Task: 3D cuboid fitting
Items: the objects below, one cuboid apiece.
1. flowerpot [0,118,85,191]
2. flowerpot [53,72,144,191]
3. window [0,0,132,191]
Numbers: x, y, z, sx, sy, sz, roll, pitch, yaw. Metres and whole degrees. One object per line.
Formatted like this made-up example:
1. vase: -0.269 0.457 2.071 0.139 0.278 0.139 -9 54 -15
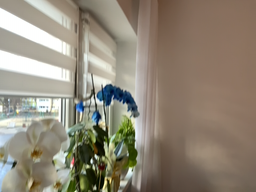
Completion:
1. flowerpot: -0.360 0.340 0.750 0.320 0.490 0.290 1 -1 9
2. flowerpot: -0.130 0.240 1.180 0.390 0.690 0.380 0 -1 11
3. window: -0.180 0.120 1.140 0.140 1.360 1.580 1 -1 10
